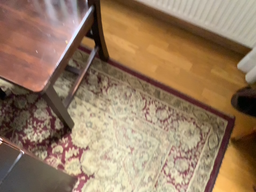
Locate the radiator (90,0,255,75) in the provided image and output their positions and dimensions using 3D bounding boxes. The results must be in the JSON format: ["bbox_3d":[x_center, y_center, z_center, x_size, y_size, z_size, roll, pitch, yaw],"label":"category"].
[{"bbox_3d":[0.310,-0.610,1.080,1.160,0.740,0.150,27,65,9],"label":"radiator"}]
